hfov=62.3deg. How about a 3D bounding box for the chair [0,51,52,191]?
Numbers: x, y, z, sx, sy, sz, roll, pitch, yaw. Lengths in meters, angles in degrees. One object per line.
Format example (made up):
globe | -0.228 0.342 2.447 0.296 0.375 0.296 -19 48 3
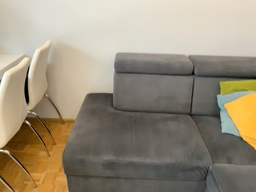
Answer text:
chair | -1.010 0.180 1.590 0.600 0.920 0.490 2 27 0

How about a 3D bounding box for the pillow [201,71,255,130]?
pillow | 0.970 0.020 1.790 0.570 0.350 0.190 -17 9 12
